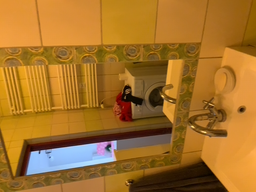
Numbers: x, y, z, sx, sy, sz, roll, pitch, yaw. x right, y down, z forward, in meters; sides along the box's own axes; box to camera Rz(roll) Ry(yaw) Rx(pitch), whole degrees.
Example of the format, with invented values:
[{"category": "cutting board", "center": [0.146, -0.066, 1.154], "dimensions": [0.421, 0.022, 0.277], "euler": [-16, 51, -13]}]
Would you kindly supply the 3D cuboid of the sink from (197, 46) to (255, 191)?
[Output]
[{"category": "sink", "center": [0.530, 0.170, 0.830], "dimensions": [0.510, 0.150, 0.610], "euler": [-121, 30, -60]}]
